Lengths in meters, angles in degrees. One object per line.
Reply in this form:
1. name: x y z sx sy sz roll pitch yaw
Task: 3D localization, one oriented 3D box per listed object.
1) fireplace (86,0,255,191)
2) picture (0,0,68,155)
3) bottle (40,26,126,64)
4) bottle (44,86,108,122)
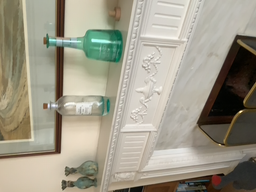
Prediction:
1. fireplace: 0.500 -0.030 1.060 0.590 1.210 1.390 -117 34 -52
2. picture: -0.580 -0.080 0.740 0.010 0.690 0.850 -117 33 -51
3. bottle: -0.160 -0.180 0.760 0.100 0.280 0.080 -116 32 -50
4. bottle: -0.220 0.030 0.890 0.110 0.240 0.100 -116 32 -50
